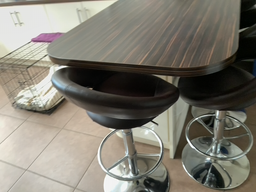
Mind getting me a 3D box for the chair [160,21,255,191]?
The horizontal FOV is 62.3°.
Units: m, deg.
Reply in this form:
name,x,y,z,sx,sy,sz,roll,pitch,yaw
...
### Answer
name,x,y,z,sx,sy,sz,roll,pitch,yaw
chair,0.510,0.100,1.200,0.480,0.860,0.530,11,41,24
